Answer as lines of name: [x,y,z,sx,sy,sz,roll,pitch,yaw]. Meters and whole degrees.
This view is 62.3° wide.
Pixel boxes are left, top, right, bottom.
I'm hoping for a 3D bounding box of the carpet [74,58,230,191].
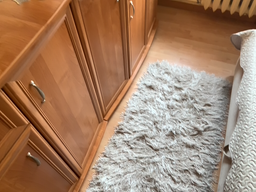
carpet: [0.240,0.250,1.470,0.720,0.050,1.200,18,58,15]
